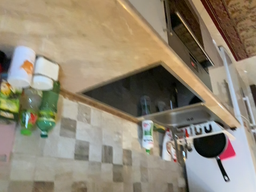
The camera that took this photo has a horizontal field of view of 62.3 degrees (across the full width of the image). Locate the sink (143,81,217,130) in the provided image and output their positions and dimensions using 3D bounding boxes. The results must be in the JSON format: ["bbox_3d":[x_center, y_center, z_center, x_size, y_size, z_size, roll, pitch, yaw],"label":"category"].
[{"bbox_3d":[0.400,0.100,1.620,0.390,0.180,0.440,-17,152,31],"label":"sink"}]
